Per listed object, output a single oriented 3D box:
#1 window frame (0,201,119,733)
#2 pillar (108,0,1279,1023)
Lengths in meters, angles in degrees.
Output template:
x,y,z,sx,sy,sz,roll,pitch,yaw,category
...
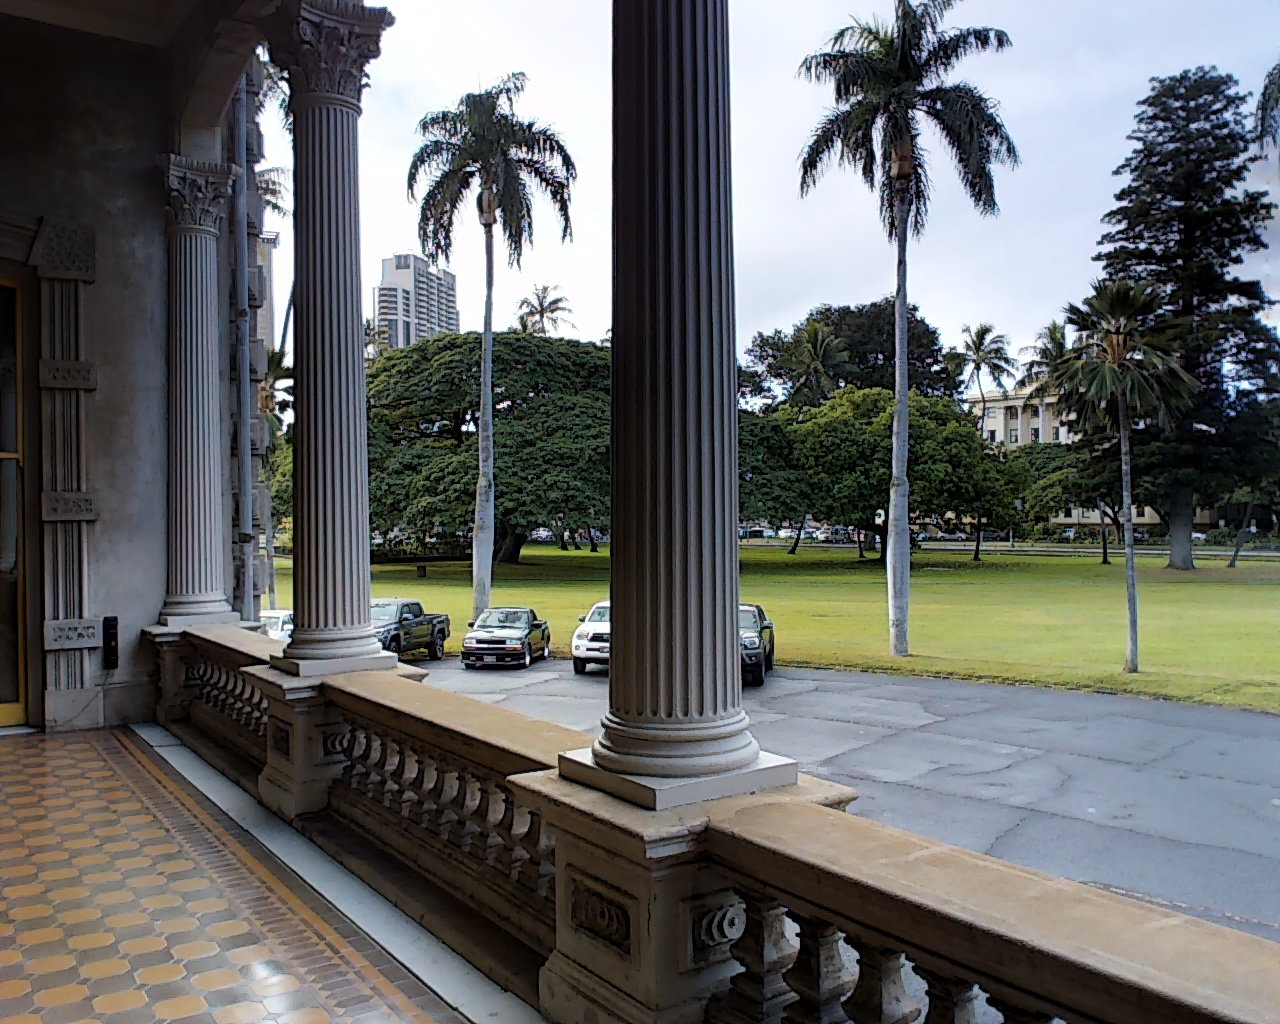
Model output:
x,y,z,sx,sy,sz,roll,pitch,yaw,category
-4.859,-0.310,7.500,2.150,3.730,0.350,-1,1,-35,window frame
0.160,-1.230,2.870,0.680,5.601,13.399,-1,1,-35,pillar
